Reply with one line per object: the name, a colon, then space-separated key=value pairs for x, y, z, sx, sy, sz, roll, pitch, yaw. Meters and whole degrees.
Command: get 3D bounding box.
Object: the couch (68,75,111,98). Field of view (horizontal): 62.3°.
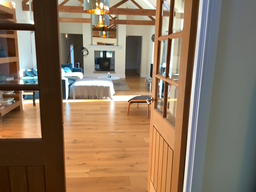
couch: x=-1.200 y=-0.340 z=6.850 sx=1.220 sy=0.510 sz=1.280 roll=1 pitch=13 yaw=-7
